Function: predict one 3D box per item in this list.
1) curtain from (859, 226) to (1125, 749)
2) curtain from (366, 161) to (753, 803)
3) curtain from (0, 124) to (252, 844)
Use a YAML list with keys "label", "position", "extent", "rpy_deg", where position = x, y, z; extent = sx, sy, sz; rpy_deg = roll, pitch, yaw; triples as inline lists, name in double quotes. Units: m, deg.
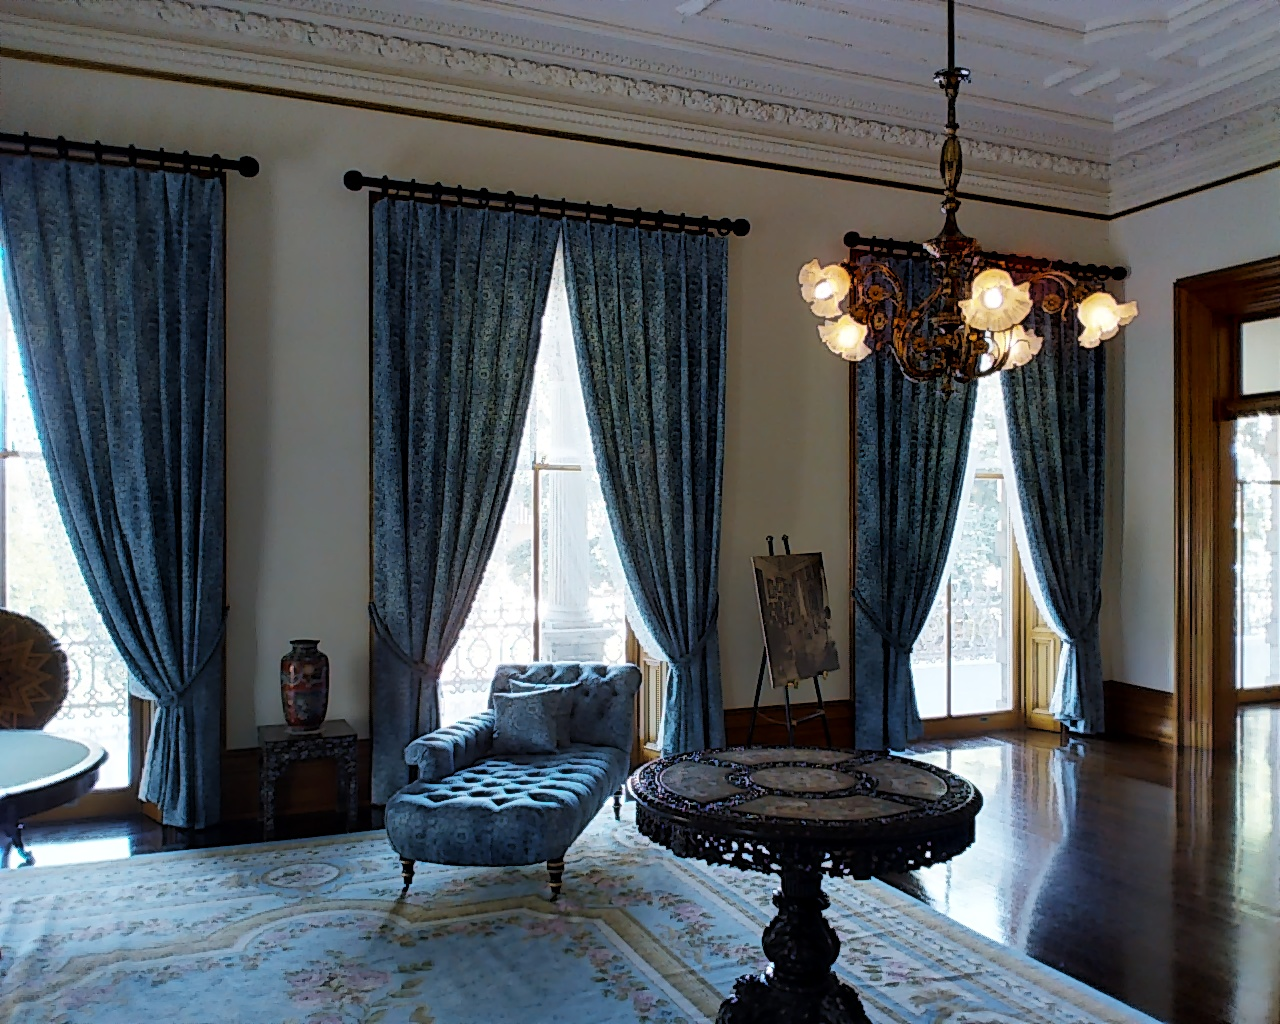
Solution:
- label: "curtain"
  position: [2.510, -0.150, 7.560]
  extent: [2.070, 3.420, 0.270]
  rpy_deg: [1, 0, -23]
- label: "curtain"
  position: [-0.410, -0.150, 6.280]
  extent: [2.260, 3.420, 0.230]
  rpy_deg: [1, 0, -23]
- label: "curtain"
  position: [-3.140, -0.130, 5.120]
  extent: [2.380, 3.360, 0.300]
  rpy_deg: [1, 0, -23]
